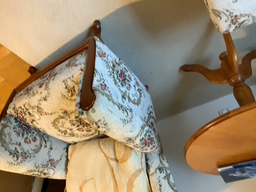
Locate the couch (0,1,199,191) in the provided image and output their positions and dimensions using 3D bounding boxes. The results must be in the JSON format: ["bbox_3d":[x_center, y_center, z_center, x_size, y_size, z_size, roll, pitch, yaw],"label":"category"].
[{"bbox_3d":[-0.170,0.240,1.110,0.740,0.860,0.800,-23,136,25],"label":"couch"}]

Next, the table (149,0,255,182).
[{"bbox_3d":[0.510,-0.040,0.980,0.580,0.610,0.570,-22,136,25],"label":"table"}]
